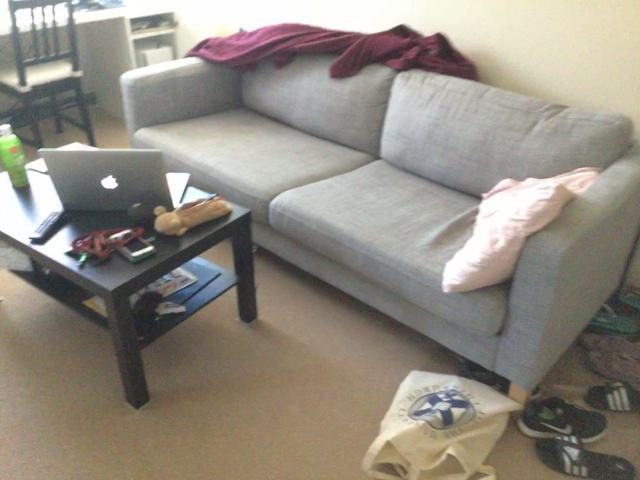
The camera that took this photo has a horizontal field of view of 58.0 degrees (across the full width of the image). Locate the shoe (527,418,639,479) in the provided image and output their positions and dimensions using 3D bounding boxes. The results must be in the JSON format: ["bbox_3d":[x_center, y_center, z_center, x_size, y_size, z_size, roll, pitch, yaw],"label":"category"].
[{"bbox_3d":[0.700,0.570,1.540,0.260,0.060,0.140,7,32,8],"label":"shoe"}]
